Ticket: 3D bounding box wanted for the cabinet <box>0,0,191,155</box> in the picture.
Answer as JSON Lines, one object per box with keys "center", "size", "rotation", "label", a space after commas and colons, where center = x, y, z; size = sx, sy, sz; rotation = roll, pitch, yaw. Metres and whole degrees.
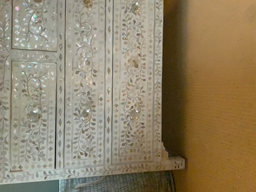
{"center": [-0.190, -0.220, 1.110], "size": [0.450, 0.890, 0.880], "rotation": [-175, 85, -75], "label": "cabinet"}
